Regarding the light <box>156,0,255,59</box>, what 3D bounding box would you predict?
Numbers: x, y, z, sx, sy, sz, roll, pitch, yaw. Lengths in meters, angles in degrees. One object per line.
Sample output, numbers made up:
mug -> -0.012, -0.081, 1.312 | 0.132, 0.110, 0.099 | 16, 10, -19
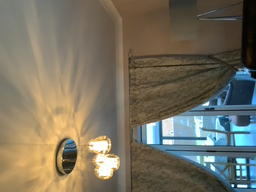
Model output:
light -> 1.060, -0.830, 2.070 | 0.490, 1.530, 0.770 | 3, -94, -78
